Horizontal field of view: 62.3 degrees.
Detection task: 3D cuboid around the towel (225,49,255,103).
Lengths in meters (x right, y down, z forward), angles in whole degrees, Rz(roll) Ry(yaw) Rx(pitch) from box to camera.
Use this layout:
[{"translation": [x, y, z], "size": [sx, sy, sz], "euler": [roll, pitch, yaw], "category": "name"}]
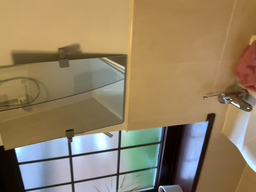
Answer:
[{"translation": [0.500, -0.090, 0.880], "size": [0.170, 0.050, 0.170], "euler": [-121, 30, -58], "category": "towel"}]
